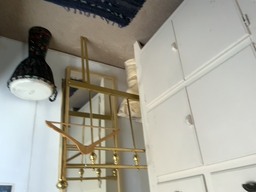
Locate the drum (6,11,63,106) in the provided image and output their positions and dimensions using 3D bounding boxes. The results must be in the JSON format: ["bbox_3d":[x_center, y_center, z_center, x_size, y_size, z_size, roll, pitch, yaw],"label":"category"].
[{"bbox_3d":[-0.600,-0.230,1.380,0.250,0.490,0.280,10,151,-30],"label":"drum"}]
